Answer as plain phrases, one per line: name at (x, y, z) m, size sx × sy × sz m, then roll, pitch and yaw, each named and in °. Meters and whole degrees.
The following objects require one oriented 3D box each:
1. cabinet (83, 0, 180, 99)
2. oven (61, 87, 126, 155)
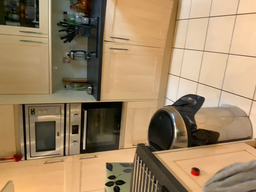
cabinet at (-0.010, -0.590, 2.540) m, size 0.600 × 0.900 × 1.110 m, roll -143°, pitch 55°, yaw -62°
oven at (-0.460, 0.260, 2.620) m, size 0.600 × 0.660 × 0.610 m, roll -143°, pitch 55°, yaw -62°
